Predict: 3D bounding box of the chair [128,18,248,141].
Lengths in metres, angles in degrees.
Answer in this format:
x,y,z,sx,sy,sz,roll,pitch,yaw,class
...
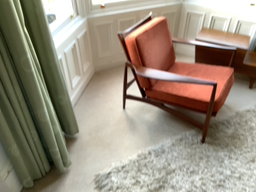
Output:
x,y,z,sx,sy,sz,roll,pitch,yaw,class
0.480,-0.180,1.860,0.740,0.680,0.600,22,44,24,chair
